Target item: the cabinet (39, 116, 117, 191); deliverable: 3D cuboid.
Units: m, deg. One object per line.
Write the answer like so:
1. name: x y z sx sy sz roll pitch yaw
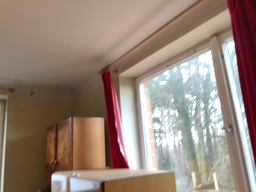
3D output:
1. cabinet: -0.640 0.960 2.480 0.500 1.270 1.130 5 -17 -34
